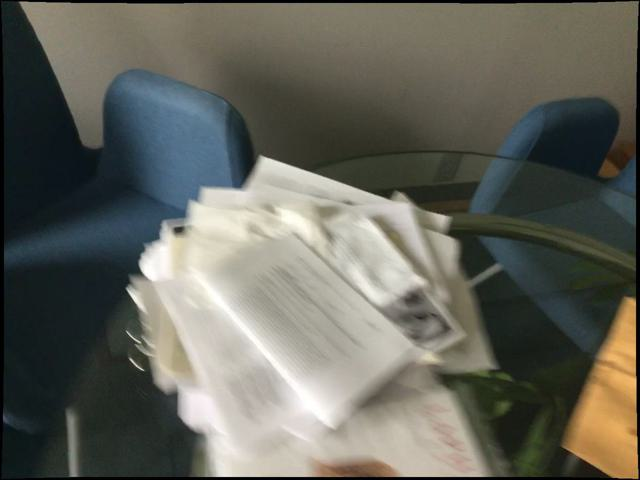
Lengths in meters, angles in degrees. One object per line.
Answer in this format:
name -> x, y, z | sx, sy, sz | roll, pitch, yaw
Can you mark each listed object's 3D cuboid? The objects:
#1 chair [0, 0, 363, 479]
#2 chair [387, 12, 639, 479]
chair -> -0.459, 0.020, 1.070 | 0.709, 0.811, 0.700 | 30, 52, 20
chair -> 0.658, 0.070, 1.250 | 0.639, 0.811, 0.650 | -22, 54, -24
